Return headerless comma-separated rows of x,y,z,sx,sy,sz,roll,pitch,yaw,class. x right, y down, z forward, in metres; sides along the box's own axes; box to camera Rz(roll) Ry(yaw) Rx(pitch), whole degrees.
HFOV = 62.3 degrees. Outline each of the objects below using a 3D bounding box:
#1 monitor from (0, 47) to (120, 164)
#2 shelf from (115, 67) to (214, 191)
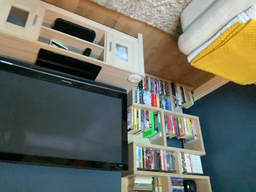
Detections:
-0.470,0.080,1.450,0.900,0.670,0.050,15,148,-26,monitor
0.370,0.630,2.270,0.950,1.770,0.340,14,148,-25,shelf
